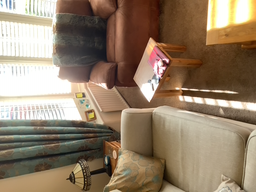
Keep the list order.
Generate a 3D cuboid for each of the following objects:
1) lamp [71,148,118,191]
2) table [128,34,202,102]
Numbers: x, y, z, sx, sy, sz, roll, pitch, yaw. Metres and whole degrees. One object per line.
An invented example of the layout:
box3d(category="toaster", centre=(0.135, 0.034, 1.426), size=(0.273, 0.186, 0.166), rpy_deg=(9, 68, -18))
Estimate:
box3d(category="lamp", centre=(-0.360, 0.910, 2.320), size=(0.250, 0.430, 0.560), rpy_deg=(0, 93, 59))
box3d(category="table", centre=(0.330, -0.260, 2.050), size=(0.390, 0.410, 0.480), rpy_deg=(62, 141, 35))
